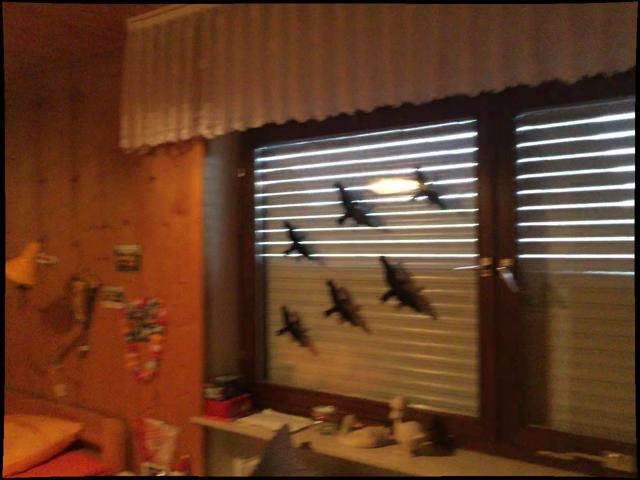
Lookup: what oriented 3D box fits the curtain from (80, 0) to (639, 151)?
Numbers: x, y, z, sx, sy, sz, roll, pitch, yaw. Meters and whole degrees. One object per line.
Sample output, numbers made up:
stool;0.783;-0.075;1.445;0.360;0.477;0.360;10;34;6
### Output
curtain;0.190;-0.701;1.760;2.818;0.581;0.250;0;0;36
